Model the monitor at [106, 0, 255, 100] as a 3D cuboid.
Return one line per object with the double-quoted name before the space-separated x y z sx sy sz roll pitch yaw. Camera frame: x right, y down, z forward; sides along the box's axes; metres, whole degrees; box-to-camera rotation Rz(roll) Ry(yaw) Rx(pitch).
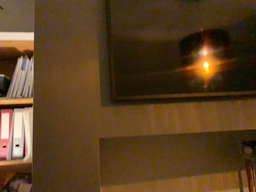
"monitor" 0.510 -0.350 1.130 1.230 0.700 0.040 -2 -10 -9
